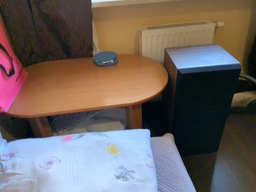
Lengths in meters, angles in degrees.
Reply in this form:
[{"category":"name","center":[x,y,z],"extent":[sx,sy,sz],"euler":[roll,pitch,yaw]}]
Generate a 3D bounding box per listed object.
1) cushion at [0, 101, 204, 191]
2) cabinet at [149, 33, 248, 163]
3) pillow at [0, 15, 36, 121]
[{"category":"cushion","center":[-0.120,0.360,0.670],"extent":[0.670,0.200,0.770],"euler":[-6,35,-5]},{"category":"cabinet","center":[0.390,0.000,1.450],"extent":[0.360,0.670,0.530],"euler":[-8,35,-7]},{"category":"pillow","center":[-0.680,-0.180,1.120],"extent":[0.170,0.330,0.580],"euler":[-6,35,-5]}]
